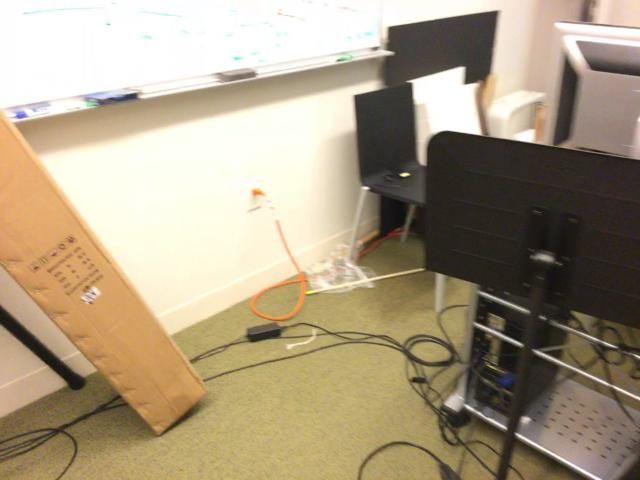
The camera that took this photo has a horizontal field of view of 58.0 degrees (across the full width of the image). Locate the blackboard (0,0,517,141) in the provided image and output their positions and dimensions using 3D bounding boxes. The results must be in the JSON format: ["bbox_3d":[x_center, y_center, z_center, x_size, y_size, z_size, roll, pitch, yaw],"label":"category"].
[{"bbox_3d":[0.000,-1.150,1.990,0.110,1.190,2.840,23,33,39],"label":"blackboard"}]

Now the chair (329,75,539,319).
[{"bbox_3d":[0.460,-0.230,2.470,0.570,0.800,0.610,23,33,39],"label":"chair"}]

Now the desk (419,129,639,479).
[{"bbox_3d":[0.820,0.220,1.560,0.810,0.800,0.640,23,33,39],"label":"desk"}]
